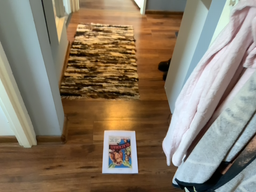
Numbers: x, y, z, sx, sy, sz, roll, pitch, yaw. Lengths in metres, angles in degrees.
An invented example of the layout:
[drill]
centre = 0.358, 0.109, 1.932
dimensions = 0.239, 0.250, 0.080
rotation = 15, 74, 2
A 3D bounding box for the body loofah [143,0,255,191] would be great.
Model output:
[body loofah]
centre = 0.270, 0.050, 0.730
dimensions = 0.230, 1.170, 0.450
rotation = 1, 45, -6
